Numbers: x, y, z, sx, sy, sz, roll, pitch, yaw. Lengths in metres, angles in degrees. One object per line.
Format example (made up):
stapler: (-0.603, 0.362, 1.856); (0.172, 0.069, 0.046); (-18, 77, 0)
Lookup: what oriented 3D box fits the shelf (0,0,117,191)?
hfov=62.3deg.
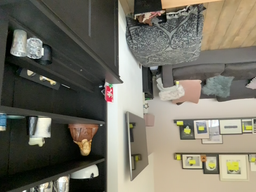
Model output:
shelf: (-0.470, 0.470, 1.380); (0.390, 1.420, 1.450); (-4, 170, 13)
